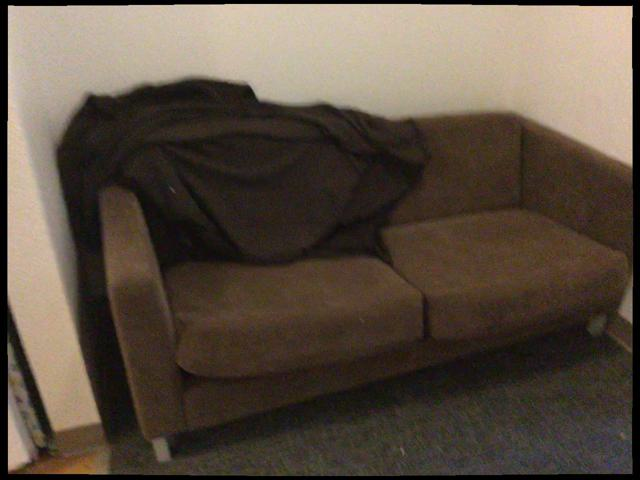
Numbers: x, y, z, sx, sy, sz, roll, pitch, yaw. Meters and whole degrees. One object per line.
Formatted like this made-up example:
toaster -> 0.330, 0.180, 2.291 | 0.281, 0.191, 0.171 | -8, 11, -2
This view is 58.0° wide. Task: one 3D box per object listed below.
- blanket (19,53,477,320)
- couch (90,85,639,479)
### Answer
blanket -> -0.210, -0.240, 1.970 | 1.298, 0.551, 0.540 | -10, 31, -14
couch -> 0.170, 0.010, 2.020 | 1.677, 0.691, 0.940 | -10, 31, -14
